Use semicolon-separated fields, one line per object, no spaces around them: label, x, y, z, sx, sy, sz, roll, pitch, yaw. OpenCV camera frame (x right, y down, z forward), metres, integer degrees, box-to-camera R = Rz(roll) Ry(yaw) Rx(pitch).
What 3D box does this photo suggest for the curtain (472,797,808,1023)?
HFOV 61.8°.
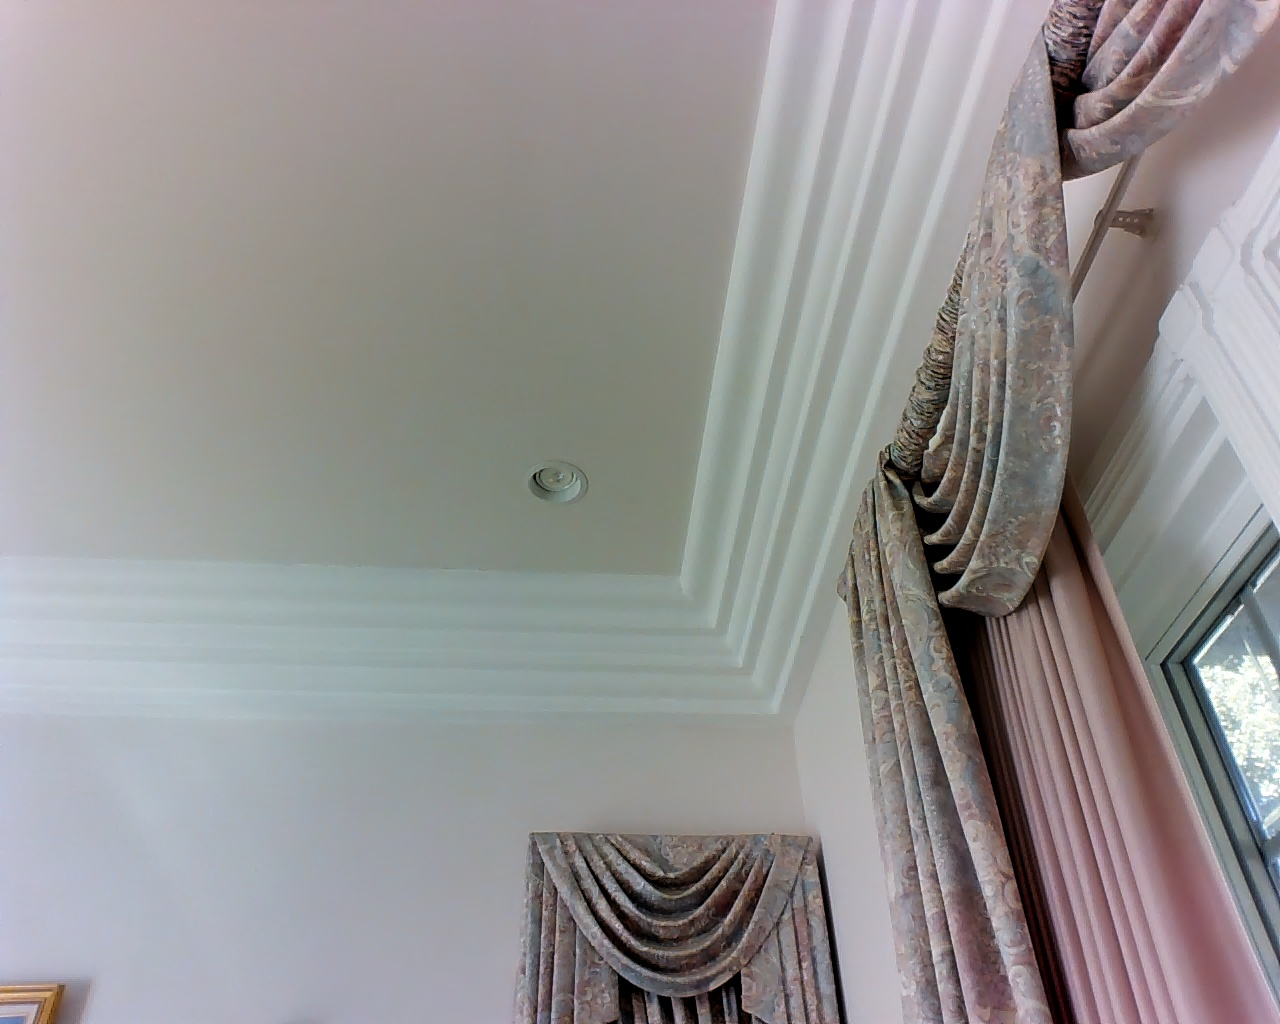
curtain;0.000;1.560;2.500;0.830;1.810;0.180;2;-41;-3
